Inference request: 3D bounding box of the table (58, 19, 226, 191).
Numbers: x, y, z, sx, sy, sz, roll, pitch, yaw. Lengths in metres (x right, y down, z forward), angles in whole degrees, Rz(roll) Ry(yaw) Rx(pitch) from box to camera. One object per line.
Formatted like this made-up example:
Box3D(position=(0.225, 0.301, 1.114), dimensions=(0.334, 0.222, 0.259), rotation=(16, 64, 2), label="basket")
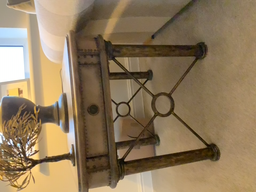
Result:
Box3D(position=(-0.020, 0.060, 1.150), dimensions=(0.710, 0.610, 0.630), rotation=(164, 101, -69), label="table")
